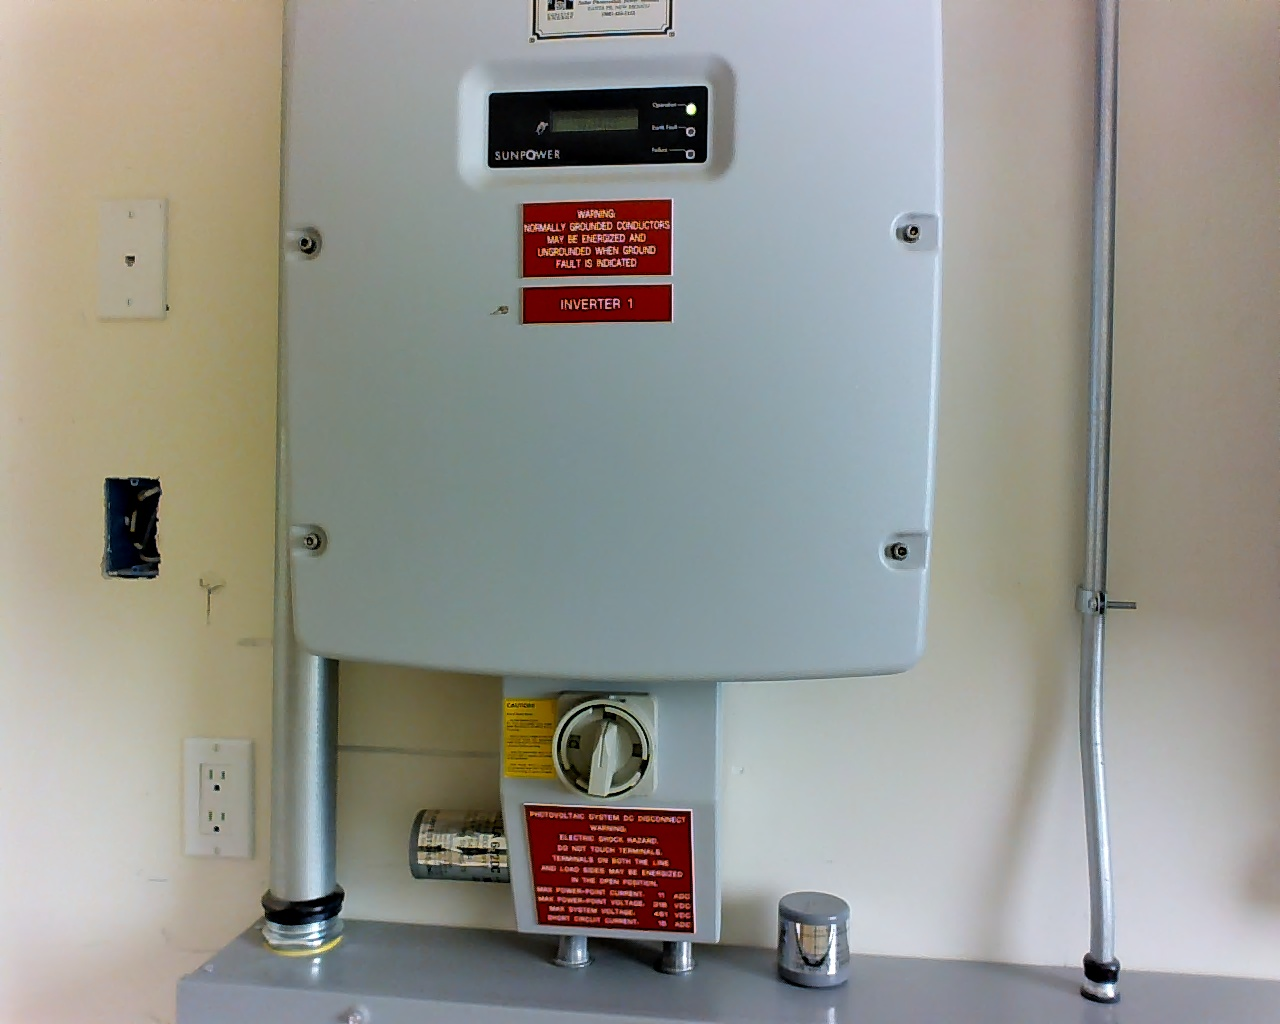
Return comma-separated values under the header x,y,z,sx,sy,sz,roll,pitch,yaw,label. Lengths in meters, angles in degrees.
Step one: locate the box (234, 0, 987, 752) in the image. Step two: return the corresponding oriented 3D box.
x,y,z,sx,sy,sz,roll,pitch,yaw,label
-0.020,-0.170,0.790,0.500,0.640,0.160,1,0,7,box
